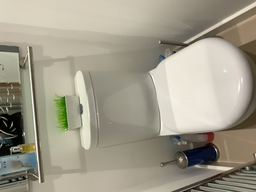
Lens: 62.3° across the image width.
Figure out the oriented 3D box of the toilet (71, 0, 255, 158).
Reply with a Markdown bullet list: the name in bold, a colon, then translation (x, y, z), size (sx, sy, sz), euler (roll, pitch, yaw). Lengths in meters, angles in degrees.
- **toilet**: translation (0.250, -0.010, 0.980), size (0.630, 0.810, 0.390), euler (-21, 75, 56)
